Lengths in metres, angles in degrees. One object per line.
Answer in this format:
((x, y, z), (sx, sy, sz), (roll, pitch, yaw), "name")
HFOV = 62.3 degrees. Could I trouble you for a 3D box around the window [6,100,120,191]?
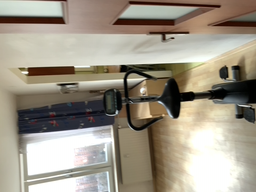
((-1.130, 1.150, 3.950), (0.320, 1.840, 2.010), (173, 92, -74), "window")
